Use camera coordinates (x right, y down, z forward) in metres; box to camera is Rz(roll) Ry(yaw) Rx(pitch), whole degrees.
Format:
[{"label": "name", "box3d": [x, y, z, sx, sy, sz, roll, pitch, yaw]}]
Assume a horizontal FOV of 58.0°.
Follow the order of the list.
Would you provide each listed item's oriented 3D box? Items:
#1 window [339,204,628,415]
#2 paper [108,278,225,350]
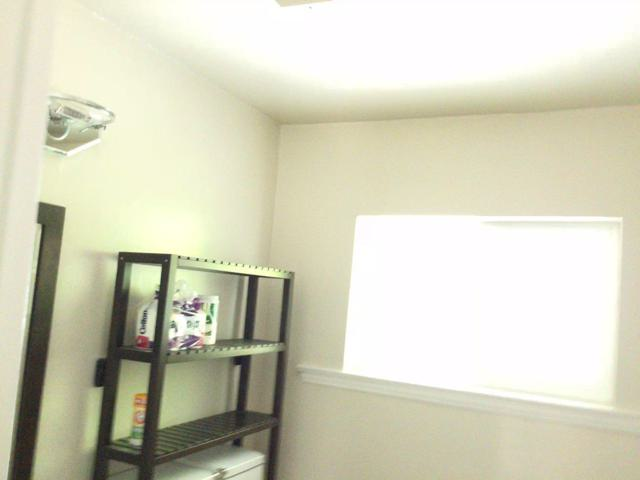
[{"label": "window", "box3d": [0.550, 0.220, 2.030, 0.910, 0.630, 0.250, 0, -8, 23]}, {"label": "paper", "box3d": [-0.430, 0.210, 1.650, 0.200, 0.180, 0.250, 0, -8, 23]}]
